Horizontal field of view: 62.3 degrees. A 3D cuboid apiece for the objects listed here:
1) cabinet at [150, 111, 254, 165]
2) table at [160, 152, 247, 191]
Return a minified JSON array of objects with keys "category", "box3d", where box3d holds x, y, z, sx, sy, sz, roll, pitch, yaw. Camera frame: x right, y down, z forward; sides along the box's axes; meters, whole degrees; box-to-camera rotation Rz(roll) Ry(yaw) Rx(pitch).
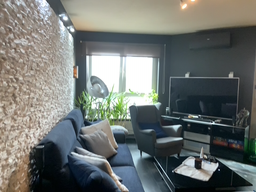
[{"category":"cabinet","box3d":[1.520,0.830,4.760,2.140,0.670,0.490,7,7,41]},{"category":"table","box3d":[0.960,1.140,2.950,0.740,0.360,0.990,1,6,-9]}]
